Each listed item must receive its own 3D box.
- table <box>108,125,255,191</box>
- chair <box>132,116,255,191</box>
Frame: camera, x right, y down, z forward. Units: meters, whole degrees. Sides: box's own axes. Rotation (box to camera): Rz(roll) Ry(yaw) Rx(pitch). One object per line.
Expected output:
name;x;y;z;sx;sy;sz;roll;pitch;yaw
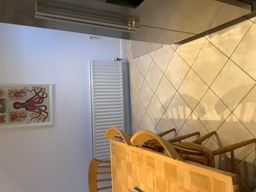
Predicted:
table;0.480;0.800;1.760;1.530;0.750;0.940;-6;85;63
chair;0.520;0.480;1.590;0.450;0.810;0.570;-21;73;62
